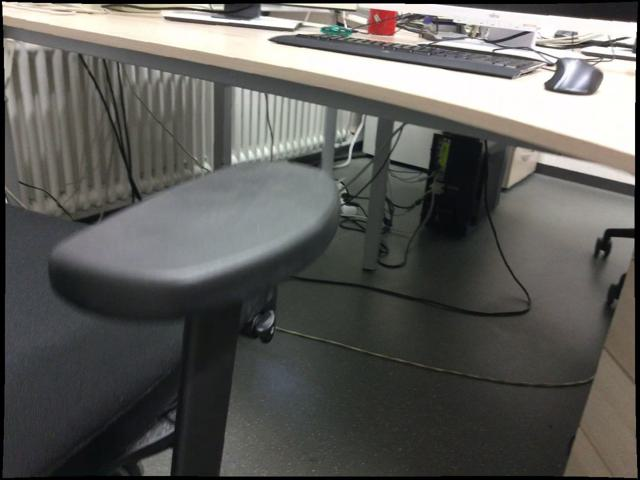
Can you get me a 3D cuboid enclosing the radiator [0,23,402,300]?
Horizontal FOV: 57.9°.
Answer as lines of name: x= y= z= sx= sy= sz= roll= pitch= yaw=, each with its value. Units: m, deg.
radiator: x=-0.360 y=-0.430 z=2.090 sx=0.290 sy=0.611 sz=1.929 roll=21 pitch=29 yaw=33
